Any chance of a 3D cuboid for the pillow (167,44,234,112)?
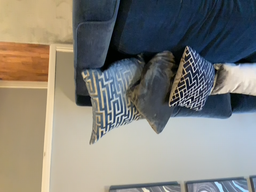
[{"bbox_3d":[0.510,-0.120,1.490,0.380,0.400,0.130,16,133,-44],"label":"pillow"}]
